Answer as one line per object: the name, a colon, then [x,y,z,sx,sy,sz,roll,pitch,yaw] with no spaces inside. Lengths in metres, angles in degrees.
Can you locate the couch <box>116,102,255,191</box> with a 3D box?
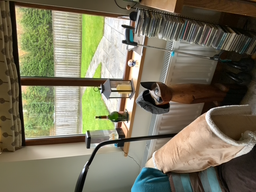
couch: [0.560,0.760,1.450,1.050,0.900,1.050,119,145,-53]
